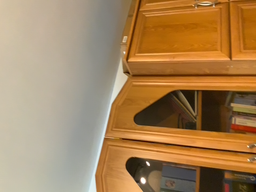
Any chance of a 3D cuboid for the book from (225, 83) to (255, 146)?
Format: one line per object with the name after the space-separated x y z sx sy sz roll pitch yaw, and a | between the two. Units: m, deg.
0.690 0.120 1.230 0.340 0.200 0.270 50 -134 -63 | book
